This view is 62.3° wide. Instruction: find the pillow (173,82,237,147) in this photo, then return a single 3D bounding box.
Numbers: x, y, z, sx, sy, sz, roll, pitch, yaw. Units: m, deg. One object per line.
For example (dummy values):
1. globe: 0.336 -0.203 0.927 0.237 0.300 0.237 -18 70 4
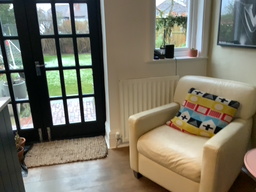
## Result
1. pillow: 0.590 0.160 1.720 0.100 0.370 0.410 -31 67 -23
